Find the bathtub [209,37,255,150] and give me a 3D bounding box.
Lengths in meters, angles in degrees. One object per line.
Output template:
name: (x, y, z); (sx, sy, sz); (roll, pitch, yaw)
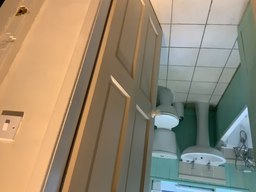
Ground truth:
bathtub: (1.490, 0.110, 2.490); (0.680, 0.560, 1.610); (3, 151, 10)
